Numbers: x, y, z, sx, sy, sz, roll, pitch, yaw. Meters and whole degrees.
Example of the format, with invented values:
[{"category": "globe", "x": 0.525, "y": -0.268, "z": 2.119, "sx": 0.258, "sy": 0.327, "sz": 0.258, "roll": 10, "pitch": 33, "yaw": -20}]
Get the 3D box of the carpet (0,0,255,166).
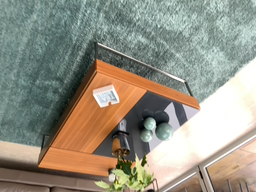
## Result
[{"category": "carpet", "x": -0.050, "y": -0.160, "z": 1.610, "sx": 1.690, "sy": 0.060, "sz": 2.470, "roll": 20, "pitch": 130, "yaw": -28}]
